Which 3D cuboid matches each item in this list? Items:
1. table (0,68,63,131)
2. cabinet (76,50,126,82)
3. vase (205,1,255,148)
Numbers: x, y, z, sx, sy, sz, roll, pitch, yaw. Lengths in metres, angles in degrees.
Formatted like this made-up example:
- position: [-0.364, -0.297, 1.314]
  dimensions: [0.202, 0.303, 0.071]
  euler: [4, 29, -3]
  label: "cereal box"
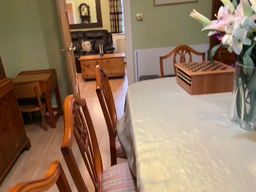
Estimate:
- position: [-1.230, 0.030, 2.770]
  dimensions: [0.550, 0.660, 0.470]
  euler: [-5, 21, -2]
  label: "table"
- position: [-0.580, -0.690, 4.770]
  dimensions: [1.020, 0.520, 0.600]
  euler: [-5, 21, -3]
  label: "cabinet"
- position: [0.570, -0.110, 0.860]
  dimensions: [0.360, 0.510, 0.300]
  euler: [-5, 21, -4]
  label: "vase"
